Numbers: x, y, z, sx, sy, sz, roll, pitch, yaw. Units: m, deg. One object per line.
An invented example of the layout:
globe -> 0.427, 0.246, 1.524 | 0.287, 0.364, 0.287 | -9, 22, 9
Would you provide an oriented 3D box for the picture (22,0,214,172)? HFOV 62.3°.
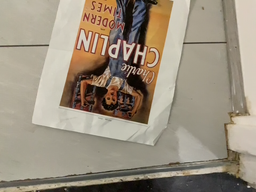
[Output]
picture -> 0.000, -0.070, 0.340 | 0.250, 0.040, 0.340 | 9, 86, -9
